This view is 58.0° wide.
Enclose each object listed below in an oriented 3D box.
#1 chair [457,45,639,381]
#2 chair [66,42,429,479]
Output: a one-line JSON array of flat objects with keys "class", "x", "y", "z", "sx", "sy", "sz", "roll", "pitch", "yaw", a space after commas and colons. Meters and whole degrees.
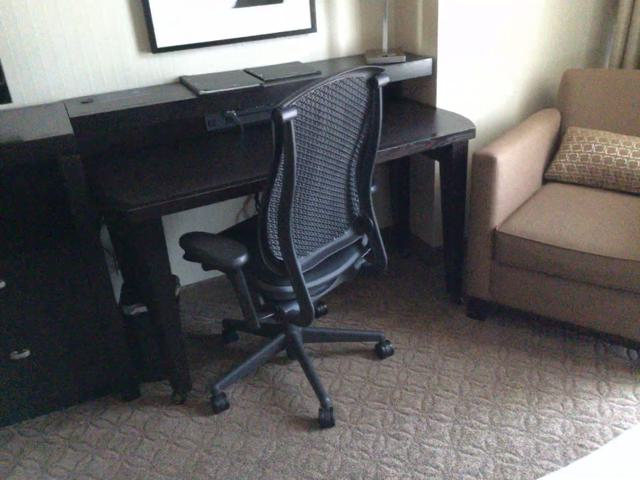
[{"class": "chair", "x": 1.110, "y": -0.170, "z": 2.130, "sx": 0.850, "sy": 0.910, "sz": 0.920, "roll": 14, "pitch": 31, "yaw": 33}, {"class": "chair", "x": -0.170, "y": -0.010, "z": 1.890, "sx": 0.750, "sy": 1.100, "sz": 0.720, "roll": 18, "pitch": 33, "yaw": 38}]
